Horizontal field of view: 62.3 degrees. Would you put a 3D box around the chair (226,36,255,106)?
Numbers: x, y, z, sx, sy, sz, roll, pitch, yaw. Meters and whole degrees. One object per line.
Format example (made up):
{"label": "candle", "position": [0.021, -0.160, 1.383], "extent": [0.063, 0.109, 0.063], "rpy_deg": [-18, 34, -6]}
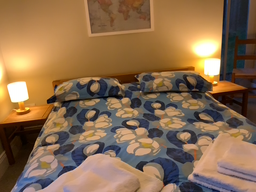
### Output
{"label": "chair", "position": [1.770, -0.390, 3.170], "extent": [0.460, 0.930, 0.540], "rpy_deg": [4, 20, 22]}

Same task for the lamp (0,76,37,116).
{"label": "lamp", "position": [-1.150, -0.010, 2.230], "extent": [0.230, 0.310, 0.320], "rpy_deg": [-6, 19, -6]}
